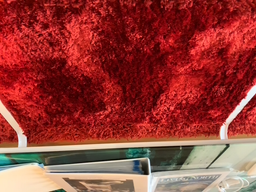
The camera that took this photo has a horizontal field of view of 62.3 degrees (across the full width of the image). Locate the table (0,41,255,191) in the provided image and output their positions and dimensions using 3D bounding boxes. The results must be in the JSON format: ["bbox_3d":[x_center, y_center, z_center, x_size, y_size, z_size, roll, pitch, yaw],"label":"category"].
[{"bbox_3d":[0.000,0.150,0.790,1.100,0.340,0.600,-2,144,-5],"label":"table"}]
